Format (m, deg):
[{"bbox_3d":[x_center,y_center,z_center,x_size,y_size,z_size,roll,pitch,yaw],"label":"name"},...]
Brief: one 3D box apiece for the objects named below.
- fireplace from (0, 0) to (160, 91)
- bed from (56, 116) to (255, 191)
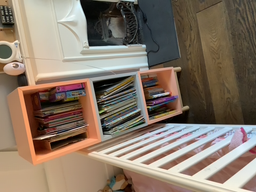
[{"bbox_3d":[-0.300,-0.560,1.560,0.250,1.040,0.880,-8,93,54],"label":"fireplace"},{"bbox_3d":[0.300,0.590,1.250,1.410,0.860,0.750,-10,92,53],"label":"bed"}]
